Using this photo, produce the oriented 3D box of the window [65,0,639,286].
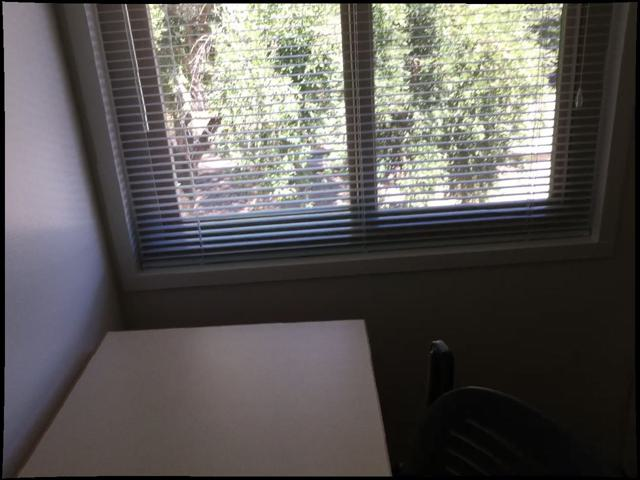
[{"bbox_3d":[0.120,-0.281,1.410,1.257,0.691,0.220,-3,24,3],"label":"window"}]
